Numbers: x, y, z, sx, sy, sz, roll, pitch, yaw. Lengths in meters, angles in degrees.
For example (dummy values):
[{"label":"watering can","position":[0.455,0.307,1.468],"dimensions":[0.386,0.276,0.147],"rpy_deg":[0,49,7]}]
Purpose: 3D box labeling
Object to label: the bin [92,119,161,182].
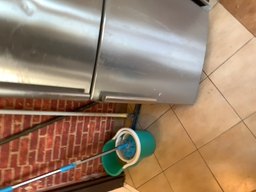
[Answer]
[{"label":"bin","position":[-0.030,0.420,1.650],"dimensions":[0.450,0.220,0.310],"rpy_deg":[-39,61,35]}]
